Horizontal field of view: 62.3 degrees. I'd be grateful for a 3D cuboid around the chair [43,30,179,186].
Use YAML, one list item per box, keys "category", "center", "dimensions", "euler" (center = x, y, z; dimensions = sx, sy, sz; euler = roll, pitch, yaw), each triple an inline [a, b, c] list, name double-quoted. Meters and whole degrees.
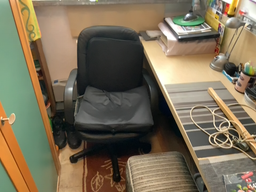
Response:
- category: "chair"
  center: [-0.120, 0.060, 1.530]
  dimensions: [0.630, 0.800, 0.760]
  euler: [-1, 39, -5]
